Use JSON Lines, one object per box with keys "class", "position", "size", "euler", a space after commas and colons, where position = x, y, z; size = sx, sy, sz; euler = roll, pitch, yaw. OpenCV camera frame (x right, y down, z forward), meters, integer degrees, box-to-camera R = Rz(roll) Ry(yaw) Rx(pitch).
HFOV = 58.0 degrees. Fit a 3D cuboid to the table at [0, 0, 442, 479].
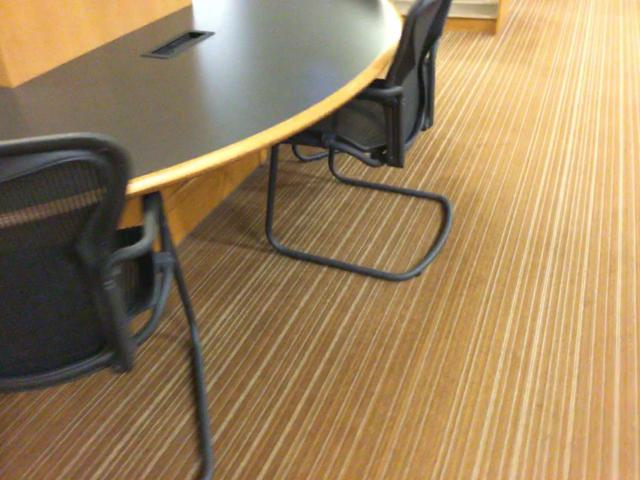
{"class": "table", "position": [-1.100, -0.490, 2.270], "size": [2.740, 0.830, 2.600], "euler": [7, 39, 17]}
